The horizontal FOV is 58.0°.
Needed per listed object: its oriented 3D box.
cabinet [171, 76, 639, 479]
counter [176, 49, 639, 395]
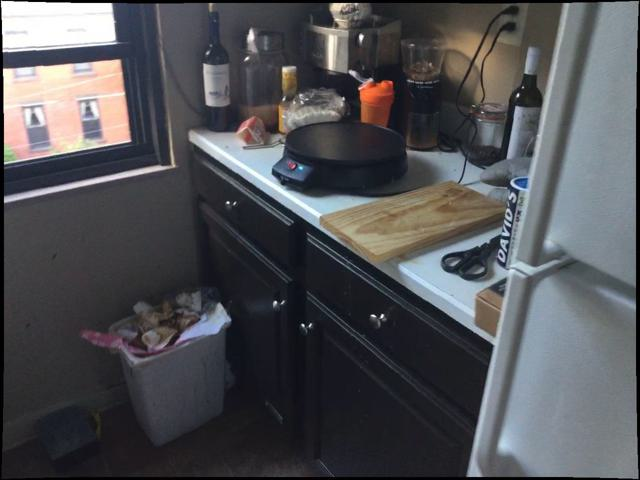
[{"bbox_3d":[0.190,0.190,1.610,0.679,0.902,1.180,-19,38,-30],"label":"cabinet"},{"bbox_3d":[0.209,-0.200,1.400,0.659,0.180,1.180,-19,38,-30],"label":"counter"}]
